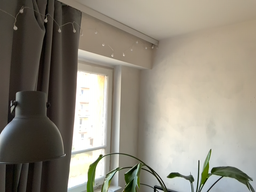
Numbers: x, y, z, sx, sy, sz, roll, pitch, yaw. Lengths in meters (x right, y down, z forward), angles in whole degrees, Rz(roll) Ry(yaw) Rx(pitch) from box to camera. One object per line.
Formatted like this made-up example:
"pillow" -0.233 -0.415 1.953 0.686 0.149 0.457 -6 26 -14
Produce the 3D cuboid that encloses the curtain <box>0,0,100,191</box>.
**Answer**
"curtain" -0.580 0.610 1.350 0.350 2.640 0.650 -1 -4 38
